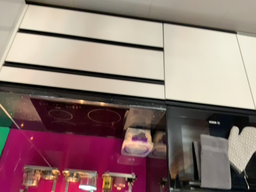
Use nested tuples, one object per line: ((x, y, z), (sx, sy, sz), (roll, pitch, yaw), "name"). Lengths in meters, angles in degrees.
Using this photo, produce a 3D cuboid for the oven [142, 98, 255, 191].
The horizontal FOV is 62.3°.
((0.460, 0.480, 1.450), (0.610, 0.670, 0.590), (7, 150, -6), "oven")
